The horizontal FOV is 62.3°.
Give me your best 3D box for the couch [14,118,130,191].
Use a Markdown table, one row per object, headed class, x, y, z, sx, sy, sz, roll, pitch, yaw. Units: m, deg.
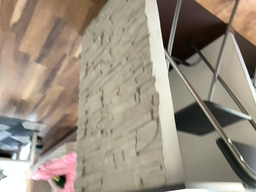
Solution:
| class | x | y | z | sx | sy | sz | roll | pitch | yaw |
| --- | --- | --- | --- | --- | --- | --- | --- | --- | --- |
| couch | -1.150 | 1.320 | 3.760 | 0.970 | 0.890 | 2.570 | 17 | 146 | -33 |
